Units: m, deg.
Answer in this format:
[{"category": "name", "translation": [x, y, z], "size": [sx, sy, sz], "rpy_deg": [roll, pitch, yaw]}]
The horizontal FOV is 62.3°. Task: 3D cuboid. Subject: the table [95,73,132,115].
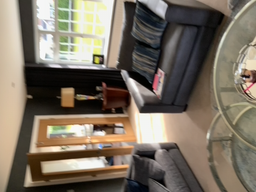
[{"category": "table", "translation": [-0.370, -0.050, 5.090], "size": [0.710, 0.660, 0.710], "rpy_deg": [-114, 30, -51]}]
